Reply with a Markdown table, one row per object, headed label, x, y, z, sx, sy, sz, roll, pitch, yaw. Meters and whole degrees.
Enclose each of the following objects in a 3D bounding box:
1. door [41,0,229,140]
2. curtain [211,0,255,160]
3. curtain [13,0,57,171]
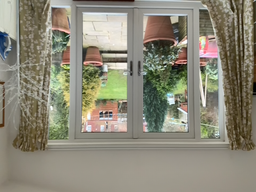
| label | x | y | z | sx | sy | sz | roll | pitch | yaw |
| --- | --- | --- | --- | --- | --- | --- | --- | --- | --- |
| door | 0.120 | -0.400 | 3.190 | 2.710 | 2.070 | 0.170 | 1 | 177 | -1 |
| curtain | 1.420 | -0.330 | 2.760 | 0.540 | 2.230 | 0.290 | 1 | 177 | -3 |
| curtain | -1.170 | -0.300 | 2.710 | 0.420 | 2.410 | 0.190 | 1 | 177 | -4 |
